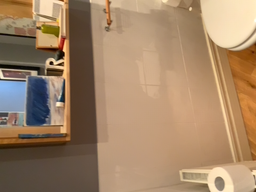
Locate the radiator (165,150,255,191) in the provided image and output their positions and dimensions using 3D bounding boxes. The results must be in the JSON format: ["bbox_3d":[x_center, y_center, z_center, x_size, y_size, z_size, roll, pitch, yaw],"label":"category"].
[{"bbox_3d":[0.660,0.330,0.980,0.740,0.660,0.130,145,123,-61],"label":"radiator"}]
